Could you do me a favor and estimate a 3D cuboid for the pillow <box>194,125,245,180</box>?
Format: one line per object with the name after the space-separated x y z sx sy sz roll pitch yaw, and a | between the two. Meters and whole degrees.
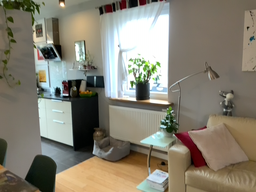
1.010 0.590 2.340 0.390 0.370 0.460 6 11 38 | pillow

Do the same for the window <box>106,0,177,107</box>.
0.170 -0.660 3.500 1.240 1.540 0.150 6 11 35 | window

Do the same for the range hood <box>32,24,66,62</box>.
-1.730 -1.130 4.650 0.760 0.740 0.290 6 11 36 | range hood
